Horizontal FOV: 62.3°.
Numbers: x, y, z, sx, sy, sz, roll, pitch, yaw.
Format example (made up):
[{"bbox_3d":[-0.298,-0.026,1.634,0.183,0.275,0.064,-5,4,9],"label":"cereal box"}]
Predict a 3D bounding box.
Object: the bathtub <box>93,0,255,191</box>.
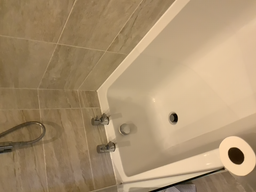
[{"bbox_3d":[0.450,-0.060,1.000,1.460,0.550,0.710,-39,58,47],"label":"bathtub"}]
